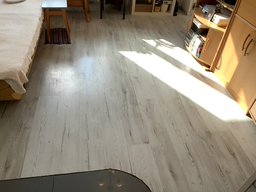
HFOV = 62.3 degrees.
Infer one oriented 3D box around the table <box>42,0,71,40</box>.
[{"bbox_3d":[-0.970,-1.090,2.940,0.300,0.460,0.420,-3,42,-11],"label":"table"}]
